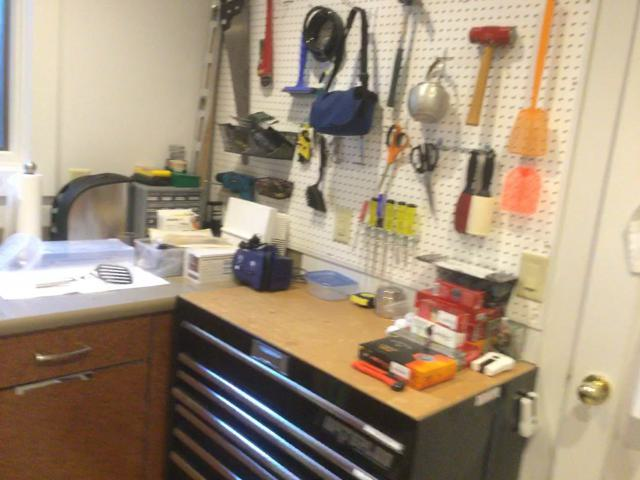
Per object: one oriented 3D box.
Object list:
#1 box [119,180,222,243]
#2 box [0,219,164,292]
[{"bbox_3d":[-0.550,-0.110,2.130,0.210,0.190,0.290,15,13,43],"label":"box"},{"bbox_3d":[-0.820,0.030,1.840,0.440,0.110,0.460,15,13,43],"label":"box"}]
